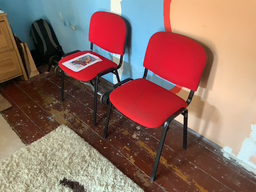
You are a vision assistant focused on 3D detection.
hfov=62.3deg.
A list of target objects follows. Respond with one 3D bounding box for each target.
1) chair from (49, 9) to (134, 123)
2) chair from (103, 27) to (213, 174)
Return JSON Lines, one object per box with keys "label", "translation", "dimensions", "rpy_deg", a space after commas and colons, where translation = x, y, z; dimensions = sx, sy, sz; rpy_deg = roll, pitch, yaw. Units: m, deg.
{"label": "chair", "translation": [-0.300, -0.290, 1.980], "dimensions": [0.490, 0.830, 0.500], "rpy_deg": [-30, 46, -35]}
{"label": "chair", "translation": [0.190, 0.020, 1.570], "dimensions": [0.530, 0.840, 0.450], "rpy_deg": [-30, 46, -35]}
